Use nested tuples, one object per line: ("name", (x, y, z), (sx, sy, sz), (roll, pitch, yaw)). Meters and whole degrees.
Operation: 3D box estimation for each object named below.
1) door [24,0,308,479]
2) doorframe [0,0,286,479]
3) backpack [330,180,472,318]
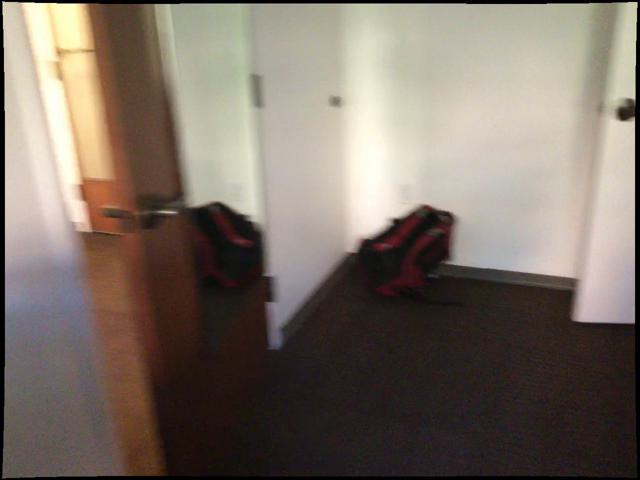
("door", (-0.339, -0.130, 1.790), (0.120, 1.584, 0.960), (6, 23, 22))
("doorframe", (-0.449, -0.130, 1.850), (0.100, 1.584, 1.060), (6, 23, 22))
("backpack", (0.419, 0.040, 2.990), (0.540, 0.410, 0.290), (36, 31, 8))
